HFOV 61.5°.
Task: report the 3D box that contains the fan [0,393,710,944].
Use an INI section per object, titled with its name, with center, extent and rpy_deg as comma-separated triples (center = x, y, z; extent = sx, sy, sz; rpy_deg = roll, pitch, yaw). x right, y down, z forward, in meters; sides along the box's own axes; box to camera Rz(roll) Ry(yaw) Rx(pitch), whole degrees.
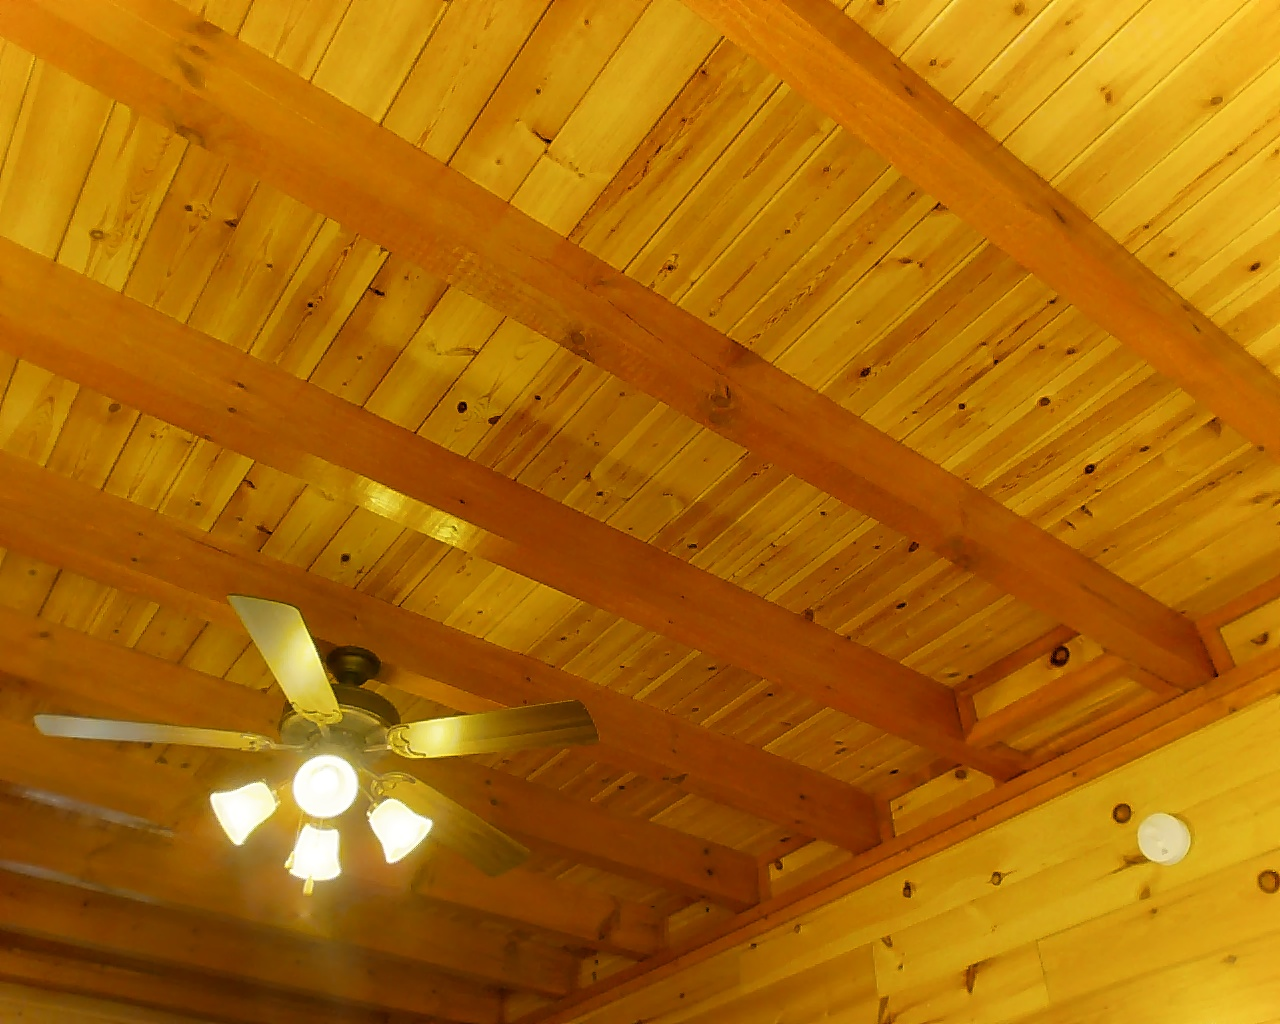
[fan]
center = -0.730, 0.510, 2.600
extent = 1.280, 0.370, 1.250
rpy_deg = 28, -49, -26
